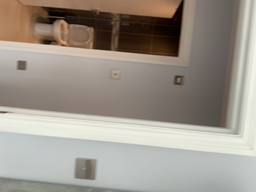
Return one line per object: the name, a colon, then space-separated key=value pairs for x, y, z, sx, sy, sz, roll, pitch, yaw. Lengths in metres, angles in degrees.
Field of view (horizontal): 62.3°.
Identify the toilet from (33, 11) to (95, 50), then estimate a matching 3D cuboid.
toilet: x=-1.040 y=-1.080 z=3.560 sx=0.430 sy=0.870 sz=0.430 roll=-87 pitch=-178 yaw=-89
